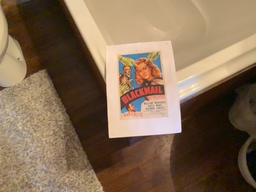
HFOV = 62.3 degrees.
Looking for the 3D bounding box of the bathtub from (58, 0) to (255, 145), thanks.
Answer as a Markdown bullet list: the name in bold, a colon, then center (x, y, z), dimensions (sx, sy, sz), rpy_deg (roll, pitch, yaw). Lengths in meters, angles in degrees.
- **bathtub**: center (0.010, -0.570, 1.080), dimensions (0.710, 0.550, 1.380), rpy_deg (-26, 73, -7)
